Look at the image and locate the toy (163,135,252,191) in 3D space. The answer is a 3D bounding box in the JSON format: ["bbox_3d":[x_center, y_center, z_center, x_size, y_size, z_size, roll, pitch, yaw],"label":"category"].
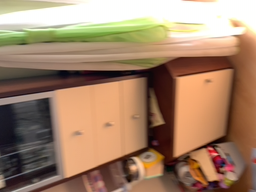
[{"bbox_3d":[0.510,0.500,1.410,0.280,0.340,0.340,63,143,22],"label":"toy"}]
